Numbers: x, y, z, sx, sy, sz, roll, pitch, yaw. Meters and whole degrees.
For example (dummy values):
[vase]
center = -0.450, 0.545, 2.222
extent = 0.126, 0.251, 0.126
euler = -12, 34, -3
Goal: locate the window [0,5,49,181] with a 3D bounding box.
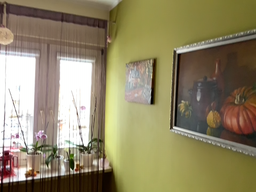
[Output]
[window]
center = -1.160, -0.020, 1.620
extent = 0.970, 1.290, 0.320
euler = 2, 3, -28
